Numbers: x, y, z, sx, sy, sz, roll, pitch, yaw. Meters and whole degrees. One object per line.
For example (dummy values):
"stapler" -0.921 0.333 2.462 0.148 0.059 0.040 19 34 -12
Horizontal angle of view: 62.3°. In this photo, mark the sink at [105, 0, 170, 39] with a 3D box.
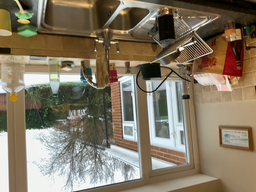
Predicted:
"sink" 0.040 -0.540 1.310 0.240 0.230 0.380 -2 176 -25

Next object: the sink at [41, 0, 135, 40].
"sink" -0.260 -0.530 1.190 0.390 0.230 0.530 -2 176 -25
